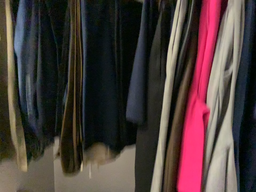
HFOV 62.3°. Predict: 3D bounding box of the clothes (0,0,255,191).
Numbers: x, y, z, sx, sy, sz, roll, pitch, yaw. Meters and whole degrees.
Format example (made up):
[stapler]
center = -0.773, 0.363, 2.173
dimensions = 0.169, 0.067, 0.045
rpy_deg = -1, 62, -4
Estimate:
[clothes]
center = -0.030, 0.000, 0.770
dimensions = 0.780, 0.790, 0.530
rpy_deg = 6, 13, 11
